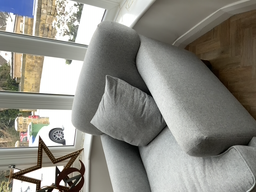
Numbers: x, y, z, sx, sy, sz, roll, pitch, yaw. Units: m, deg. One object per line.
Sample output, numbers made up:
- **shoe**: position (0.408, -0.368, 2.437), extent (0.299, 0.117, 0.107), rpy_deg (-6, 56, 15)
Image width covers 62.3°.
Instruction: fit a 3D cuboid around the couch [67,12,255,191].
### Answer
- **couch**: position (0.150, 0.260, 1.350), extent (0.930, 0.790, 1.150), rpy_deg (-63, 35, 38)
